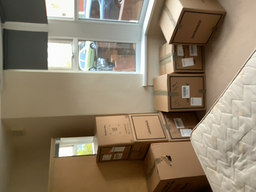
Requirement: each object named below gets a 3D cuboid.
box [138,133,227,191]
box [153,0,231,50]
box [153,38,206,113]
[{"bbox_3d":[0.610,0.810,2.590,0.590,0.800,0.440,109,156,-50],"label":"box"},{"bbox_3d":[0.720,-0.970,2.560,0.570,0.570,0.540,108,157,-49],"label":"box"},{"bbox_3d":[0.660,-0.260,2.820,0.470,0.500,0.890,-164,75,-75],"label":"box"}]
